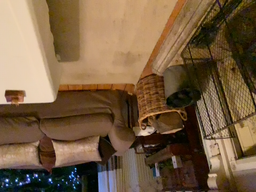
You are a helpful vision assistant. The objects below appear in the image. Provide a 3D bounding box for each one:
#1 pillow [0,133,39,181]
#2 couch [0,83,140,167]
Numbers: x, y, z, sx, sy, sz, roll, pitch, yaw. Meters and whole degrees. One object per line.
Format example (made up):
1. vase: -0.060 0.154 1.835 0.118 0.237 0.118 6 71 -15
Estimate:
1. pillow: -1.360 0.690 2.430 0.530 0.320 0.120 31 -169 -7
2. couch: -1.000 0.380 2.510 2.060 0.720 0.900 -1 157 -12
